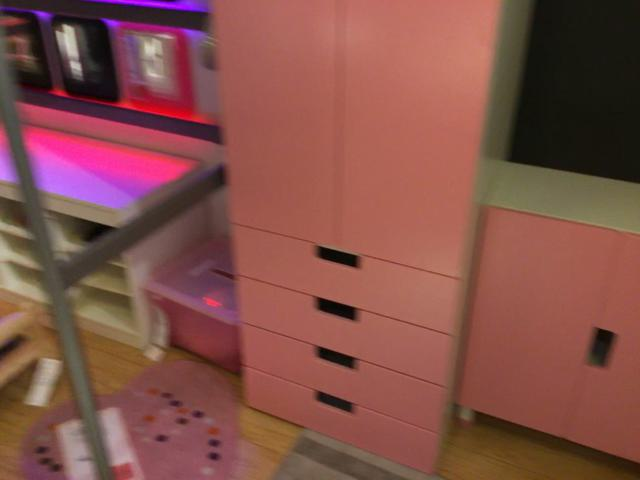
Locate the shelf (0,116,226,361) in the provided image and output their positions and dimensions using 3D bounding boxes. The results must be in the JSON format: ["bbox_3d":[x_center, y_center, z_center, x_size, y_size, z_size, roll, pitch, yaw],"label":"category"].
[{"bbox_3d":[-0.980,-0.060,2.180,1.100,0.600,0.470,11,31,22],"label":"shelf"}]
